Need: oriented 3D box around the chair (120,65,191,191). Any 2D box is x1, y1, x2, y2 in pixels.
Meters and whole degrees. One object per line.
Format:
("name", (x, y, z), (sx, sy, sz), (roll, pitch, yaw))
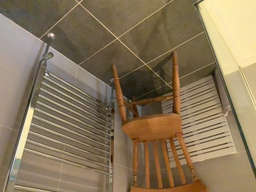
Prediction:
("chair", (0.170, 0.270, 1.480), (0.360, 0.880, 0.400), (-8, 145, 9))
